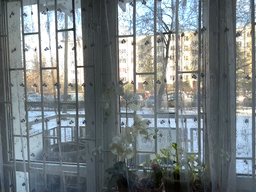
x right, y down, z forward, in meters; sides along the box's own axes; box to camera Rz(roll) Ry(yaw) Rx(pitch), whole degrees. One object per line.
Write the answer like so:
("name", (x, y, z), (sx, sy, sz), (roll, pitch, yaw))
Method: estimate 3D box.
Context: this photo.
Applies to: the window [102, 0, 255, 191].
("window", (0.710, -0.130, 1.080), (1.700, 1.680, 0.190), (0, 4, 13))
